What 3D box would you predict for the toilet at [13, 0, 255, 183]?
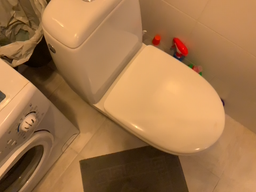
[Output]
[{"bbox_3d":[0.070,-0.030,0.870,0.640,0.740,0.370,34,73,8],"label":"toilet"}]
